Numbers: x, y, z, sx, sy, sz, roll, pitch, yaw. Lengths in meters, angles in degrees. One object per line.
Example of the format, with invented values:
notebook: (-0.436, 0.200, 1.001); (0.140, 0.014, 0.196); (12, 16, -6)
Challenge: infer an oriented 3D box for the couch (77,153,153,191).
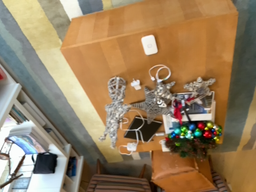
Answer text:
couch: (-0.210, 1.310, 2.680); (0.860, 0.780, 0.780); (9, 138, -8)

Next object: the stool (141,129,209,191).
stool: (0.490, 0.730, 2.280); (0.500, 0.420, 0.530); (-22, 133, 24)
